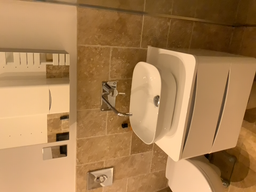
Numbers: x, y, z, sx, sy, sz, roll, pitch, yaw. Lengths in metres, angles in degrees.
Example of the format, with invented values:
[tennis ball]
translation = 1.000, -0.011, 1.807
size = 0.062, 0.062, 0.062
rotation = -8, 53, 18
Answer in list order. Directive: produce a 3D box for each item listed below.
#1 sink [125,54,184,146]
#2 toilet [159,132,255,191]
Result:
[sink]
translation = 0.130, 0.000, 1.280
size = 0.380, 0.120, 0.440
rotation = -143, 54, -58
[toilet]
translation = 0.610, 0.600, 1.670
size = 0.540, 0.470, 0.370
rotation = -143, 54, -58
